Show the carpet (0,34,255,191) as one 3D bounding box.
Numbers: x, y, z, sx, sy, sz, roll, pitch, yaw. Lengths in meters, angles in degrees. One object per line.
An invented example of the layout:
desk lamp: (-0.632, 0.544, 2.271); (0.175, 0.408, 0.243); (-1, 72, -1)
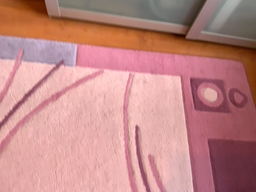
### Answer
carpet: (-0.180, 0.340, 0.970); (1.840, 0.020, 1.450); (3, 64, -8)
